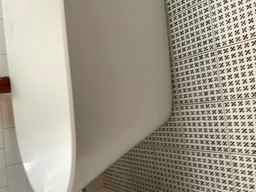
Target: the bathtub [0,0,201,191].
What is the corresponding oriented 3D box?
[{"bbox_3d":[-0.250,-0.420,1.030,0.780,0.550,1.690,-9,87,49],"label":"bathtub"}]
